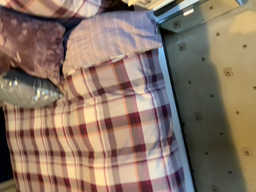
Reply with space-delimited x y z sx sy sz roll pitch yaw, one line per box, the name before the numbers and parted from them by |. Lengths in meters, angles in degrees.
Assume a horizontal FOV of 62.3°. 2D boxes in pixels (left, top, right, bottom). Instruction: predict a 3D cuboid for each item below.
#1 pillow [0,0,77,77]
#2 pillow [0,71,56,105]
pillow | -0.500 -0.260 1.070 0.480 0.380 0.200 -171 65 -83
pillow | -0.670 -0.040 1.310 0.350 0.310 0.150 -5 95 52
